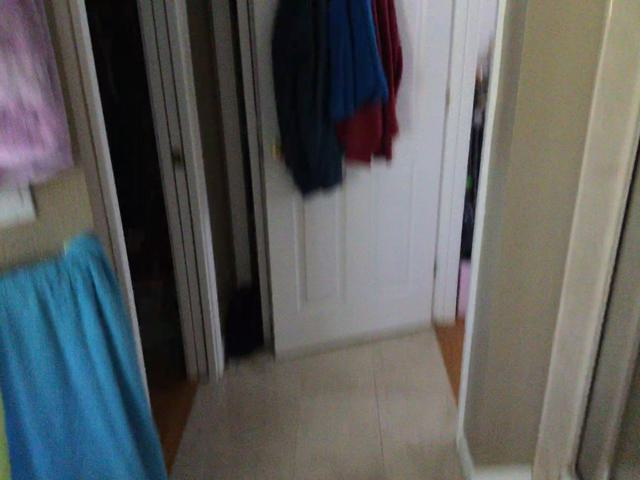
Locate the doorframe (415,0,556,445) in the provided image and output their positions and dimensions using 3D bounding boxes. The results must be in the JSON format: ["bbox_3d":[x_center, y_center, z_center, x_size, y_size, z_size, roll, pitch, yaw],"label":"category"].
[{"bbox_3d":[0.500,-0.450,1.960,0.200,2.080,0.890,-3,22,1],"label":"doorframe"}]

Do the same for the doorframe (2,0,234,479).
[{"bbox_3d":[-0.480,-0.260,1.620,0.160,2.080,1.000,-3,22,-1],"label":"doorframe"}]
